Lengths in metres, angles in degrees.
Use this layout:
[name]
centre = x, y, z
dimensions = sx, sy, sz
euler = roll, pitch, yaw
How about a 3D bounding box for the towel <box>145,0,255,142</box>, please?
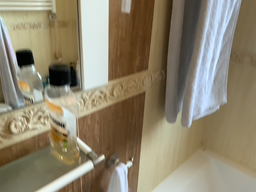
[towel]
centre = 0.350, -0.230, 0.900
dimensions = 0.510, 0.680, 0.200
euler = -19, 33, -40
